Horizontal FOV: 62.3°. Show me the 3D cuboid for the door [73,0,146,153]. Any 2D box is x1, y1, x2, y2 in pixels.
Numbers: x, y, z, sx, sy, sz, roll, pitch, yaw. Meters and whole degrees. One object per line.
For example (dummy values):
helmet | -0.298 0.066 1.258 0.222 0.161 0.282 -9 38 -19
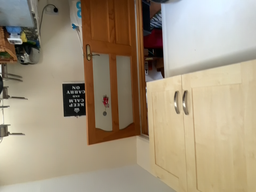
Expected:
door | -0.200 -0.410 2.540 0.830 1.990 0.160 -3 180 -38
